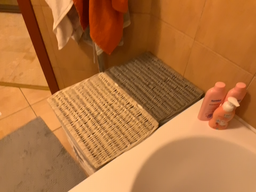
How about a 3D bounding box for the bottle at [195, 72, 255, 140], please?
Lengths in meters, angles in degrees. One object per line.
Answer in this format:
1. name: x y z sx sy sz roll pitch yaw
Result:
1. bottle: 0.420 0.040 0.890 0.170 0.170 0.160 -28 55 -25
